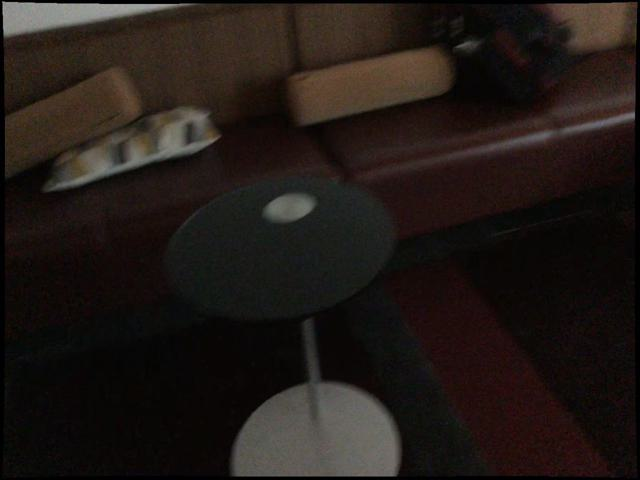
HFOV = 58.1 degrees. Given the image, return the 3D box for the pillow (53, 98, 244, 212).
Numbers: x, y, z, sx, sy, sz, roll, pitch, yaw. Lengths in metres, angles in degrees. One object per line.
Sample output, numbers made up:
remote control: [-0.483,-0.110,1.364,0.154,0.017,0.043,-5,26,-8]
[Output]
pillow: [-0.519,-0.271,1.750,0.509,0.110,0.300,-14,40,-11]

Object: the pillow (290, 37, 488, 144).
pillow: [0.229,-0.511,1.940,0.619,0.180,0.190,-14,40,-11]

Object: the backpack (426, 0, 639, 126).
backpack: [0.698,-0.712,1.910,0.529,0.411,0.440,-14,40,-11]
